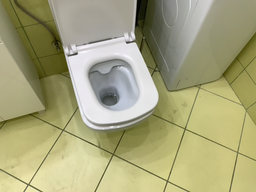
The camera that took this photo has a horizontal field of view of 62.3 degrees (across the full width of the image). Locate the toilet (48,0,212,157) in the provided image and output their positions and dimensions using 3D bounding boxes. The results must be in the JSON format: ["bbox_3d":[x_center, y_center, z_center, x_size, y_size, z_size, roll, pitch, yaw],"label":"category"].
[{"bbox_3d":[-0.090,-0.160,1.030,0.380,0.820,0.630,-17,65,-13],"label":"toilet"}]
